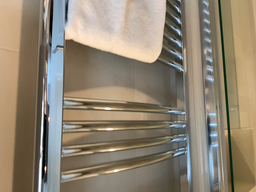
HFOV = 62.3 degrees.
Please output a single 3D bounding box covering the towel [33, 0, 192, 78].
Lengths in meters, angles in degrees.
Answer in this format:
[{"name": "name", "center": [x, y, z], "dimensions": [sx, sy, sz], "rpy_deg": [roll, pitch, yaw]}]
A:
[{"name": "towel", "center": [0.000, -0.250, 0.480], "dimensions": [0.300, 0.320, 0.140], "rpy_deg": [20, 161, -39]}]
